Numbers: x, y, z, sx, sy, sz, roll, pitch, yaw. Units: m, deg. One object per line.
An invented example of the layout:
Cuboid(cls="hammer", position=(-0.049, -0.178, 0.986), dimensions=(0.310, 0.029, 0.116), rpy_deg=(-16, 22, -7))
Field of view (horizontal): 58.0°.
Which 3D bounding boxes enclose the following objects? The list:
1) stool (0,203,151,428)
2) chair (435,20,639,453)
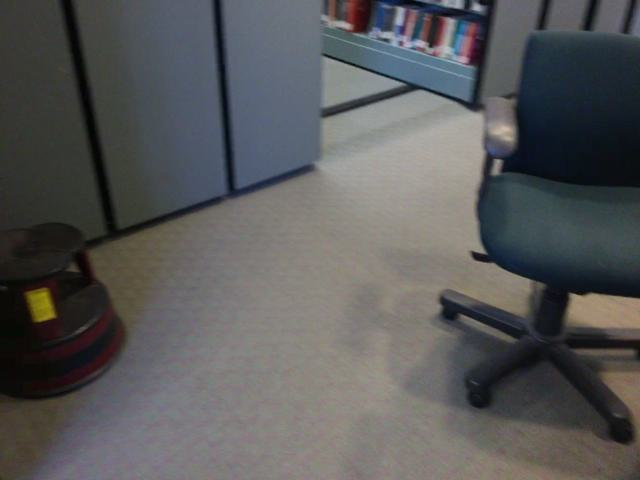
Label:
Cuboid(cls="stool", position=(-0.790, 0.190, 1.650), dimensions=(0.420, 0.380, 0.350), rpy_deg=(-27, 41, -35))
Cuboid(cls="chair", position=(0.690, -0.030, 1.550), dimensions=(0.660, 0.920, 0.660), rpy_deg=(5, 33, 8))
